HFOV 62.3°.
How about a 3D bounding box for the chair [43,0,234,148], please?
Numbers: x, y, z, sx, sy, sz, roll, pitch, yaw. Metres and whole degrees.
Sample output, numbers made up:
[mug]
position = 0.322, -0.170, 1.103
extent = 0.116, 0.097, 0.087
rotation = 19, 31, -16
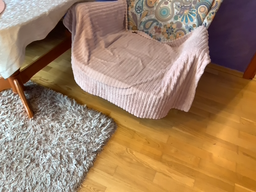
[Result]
[chair]
position = 0.150, -0.480, 1.440
extent = 0.800, 1.010, 1.040
rotation = 21, 49, 13
